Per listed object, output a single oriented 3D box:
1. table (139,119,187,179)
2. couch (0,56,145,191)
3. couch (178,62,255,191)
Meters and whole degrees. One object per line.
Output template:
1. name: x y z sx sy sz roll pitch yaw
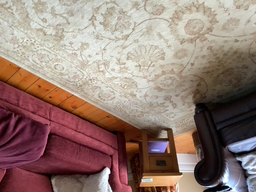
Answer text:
1. table: 0.330 0.550 2.200 0.390 0.480 0.380 -3 144 0
2. couch: -0.870 0.530 1.670 1.000 0.970 1.900 -30 136 32
3. couch: 1.190 0.350 1.650 1.080 0.850 0.980 -30 136 32
